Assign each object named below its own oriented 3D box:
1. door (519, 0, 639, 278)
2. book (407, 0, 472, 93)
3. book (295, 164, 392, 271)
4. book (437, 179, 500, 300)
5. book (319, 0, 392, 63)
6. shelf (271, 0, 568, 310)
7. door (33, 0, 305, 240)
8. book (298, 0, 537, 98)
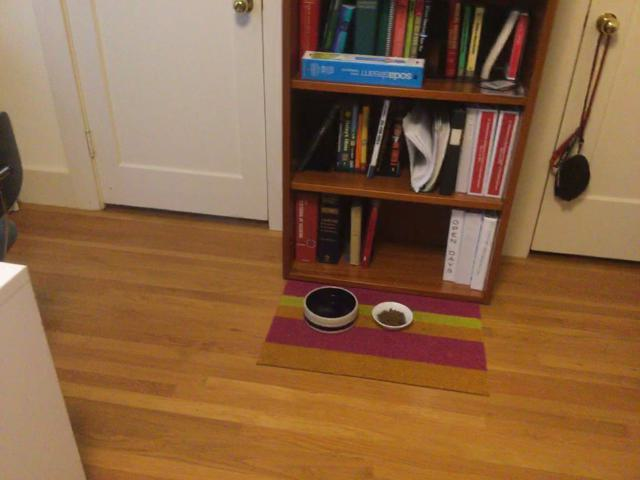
[{"bbox_3d":[1.200,-0.740,1.740,0.770,1.980,0.070,6,29,6],"label":"door"},{"bbox_3d":[0.360,-0.620,1.790,0.150,0.240,0.310,6,29,6],"label":"book"},{"bbox_3d":[0.090,-0.090,2.160,0.320,0.290,0.250,6,29,6],"label":"book"},{"bbox_3d":[0.520,-0.010,2.070,0.150,0.310,0.310,6,29,6],"label":"book"},{"bbox_3d":[0.120,-0.710,1.830,0.200,0.220,0.300,6,29,6],"label":"book"},{"bbox_3d":[0.280,-0.690,1.760,0.790,1.830,0.400,6,29,6],"label":"shelf"},{"bbox_3d":[-0.520,-0.920,1.950,0.940,1.940,0.110,6,29,6],"label":"door"},{"bbox_3d":[0.290,-0.660,1.840,0.680,0.300,0.260,6,29,6],"label":"book"}]
